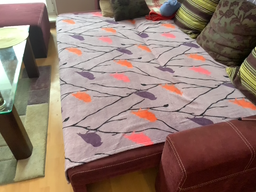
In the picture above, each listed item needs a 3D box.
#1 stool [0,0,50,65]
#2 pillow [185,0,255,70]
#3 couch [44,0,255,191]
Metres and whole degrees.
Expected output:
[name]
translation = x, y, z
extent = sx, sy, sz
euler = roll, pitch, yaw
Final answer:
[stool]
translation = -1.390, -0.770, 2.480
extent = 0.790, 0.450, 0.740
euler = -8, 43, -11
[pillow]
translation = 0.750, -0.560, 1.740
extent = 0.270, 0.480, 0.460
euler = -11, 44, -15
[couch]
translation = 0.150, -0.390, 1.880
extent = 1.530, 0.780, 2.490
euler = -10, 43, -14
